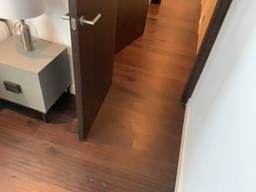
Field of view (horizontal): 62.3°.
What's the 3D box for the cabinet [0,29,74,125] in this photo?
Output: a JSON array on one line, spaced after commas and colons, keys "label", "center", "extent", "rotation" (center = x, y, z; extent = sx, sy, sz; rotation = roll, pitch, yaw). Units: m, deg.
[{"label": "cabinet", "center": [-0.830, -0.170, 1.850], "extent": [0.510, 0.560, 0.470], "rotation": [15, 44, 7]}]
